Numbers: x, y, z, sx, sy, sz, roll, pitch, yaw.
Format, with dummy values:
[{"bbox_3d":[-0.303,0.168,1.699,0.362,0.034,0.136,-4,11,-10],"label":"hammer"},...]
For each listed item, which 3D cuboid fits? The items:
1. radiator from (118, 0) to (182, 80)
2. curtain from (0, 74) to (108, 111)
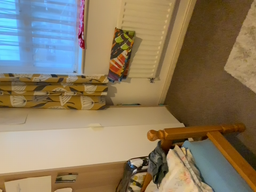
[{"bbox_3d":[0.210,-0.600,2.050,0.060,0.460,0.960,-120,35,-52],"label":"radiator"},{"bbox_3d":[-0.910,-0.030,1.930,0.110,1.430,0.310,-119,34,-51],"label":"curtain"}]
